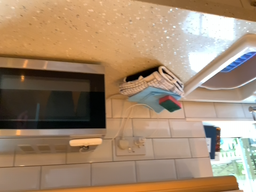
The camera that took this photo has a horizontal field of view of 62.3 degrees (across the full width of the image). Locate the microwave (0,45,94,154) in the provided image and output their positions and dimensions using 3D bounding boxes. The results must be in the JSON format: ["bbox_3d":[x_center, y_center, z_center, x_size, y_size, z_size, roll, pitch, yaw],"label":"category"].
[{"bbox_3d":[-0.360,0.040,0.760,0.430,0.270,0.360,1,158,-15],"label":"microwave"}]
